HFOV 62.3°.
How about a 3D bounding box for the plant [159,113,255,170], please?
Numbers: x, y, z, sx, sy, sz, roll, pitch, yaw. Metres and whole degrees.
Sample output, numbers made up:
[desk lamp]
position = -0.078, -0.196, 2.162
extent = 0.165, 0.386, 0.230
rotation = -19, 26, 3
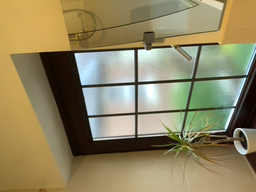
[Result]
[plant]
position = 0.460, 0.260, 1.210
extent = 0.170, 0.530, 0.240
rotation = -96, 3, -54
